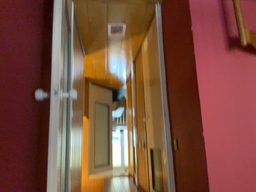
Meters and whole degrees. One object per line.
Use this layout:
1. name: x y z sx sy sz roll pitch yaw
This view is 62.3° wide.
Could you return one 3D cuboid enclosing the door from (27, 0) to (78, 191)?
1. door: -0.430 -0.070 1.380 0.100 1.980 0.890 0 167 -9
